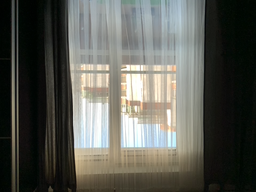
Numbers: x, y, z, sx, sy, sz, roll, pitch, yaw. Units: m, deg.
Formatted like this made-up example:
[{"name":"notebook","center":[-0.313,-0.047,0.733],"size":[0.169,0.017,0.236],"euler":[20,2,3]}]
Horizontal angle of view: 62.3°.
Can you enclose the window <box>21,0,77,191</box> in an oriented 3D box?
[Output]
[{"name":"window","center":[-0.750,-0.160,2.060],"size":[0.460,2.670,0.230],"euler":[1,-178,-3]}]
